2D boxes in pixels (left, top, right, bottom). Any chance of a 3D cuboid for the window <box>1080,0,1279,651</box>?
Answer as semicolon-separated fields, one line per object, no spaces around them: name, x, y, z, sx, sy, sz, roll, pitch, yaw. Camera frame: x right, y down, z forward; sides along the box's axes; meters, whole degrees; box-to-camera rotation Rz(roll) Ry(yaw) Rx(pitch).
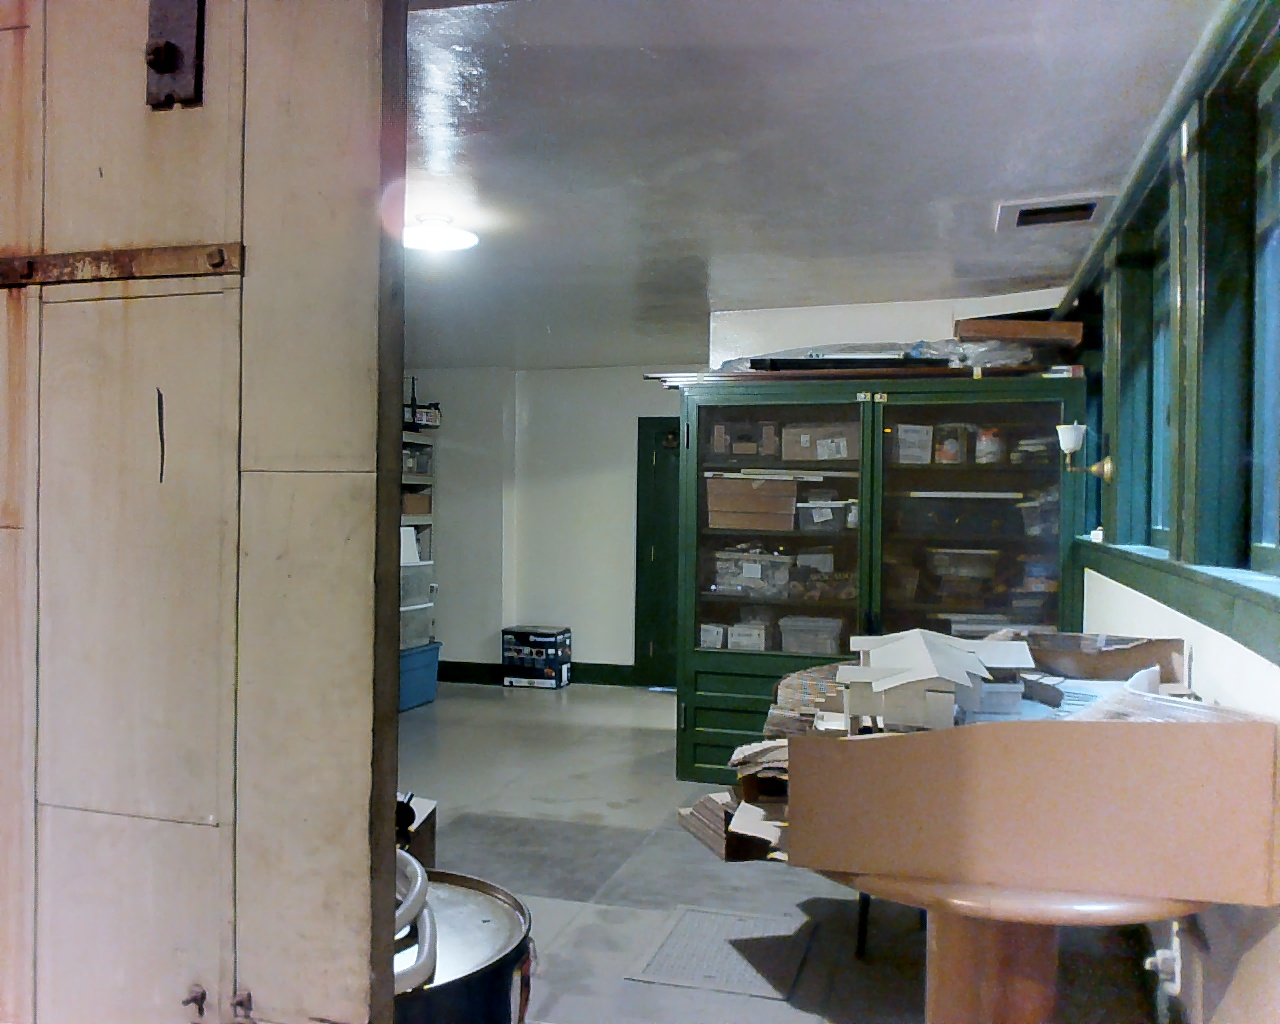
window;1.820;-0.430;3.590;0.150;1.450;4.400;1;0;16

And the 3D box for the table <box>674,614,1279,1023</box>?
table;0.840;0.930;2.750;1.200;1.160;1.380;1;0;16
